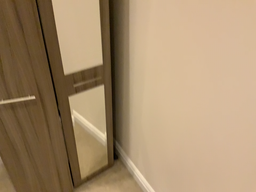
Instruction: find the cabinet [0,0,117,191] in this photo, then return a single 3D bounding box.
[{"bbox_3d":[-0.560,-0.190,1.410,0.780,1.850,0.570,-18,39,-27],"label":"cabinet"}]
